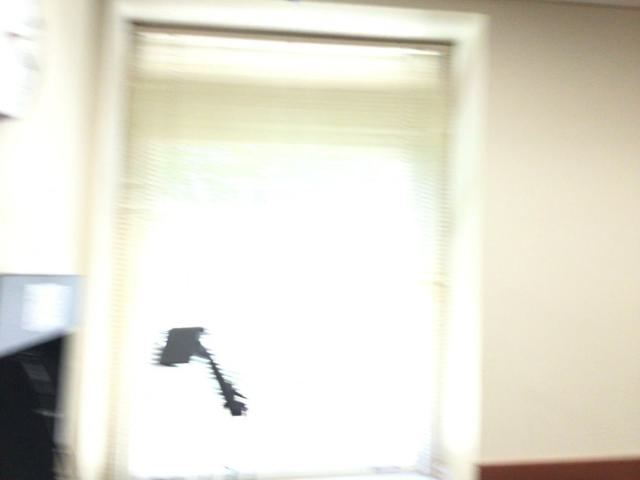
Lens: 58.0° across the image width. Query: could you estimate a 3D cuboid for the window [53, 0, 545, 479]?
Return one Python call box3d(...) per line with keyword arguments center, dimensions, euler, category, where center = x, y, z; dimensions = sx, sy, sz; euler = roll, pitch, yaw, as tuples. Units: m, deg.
box3d(center=(-0.090, 0.050, 2.140), dimensions=(1.450, 1.810, 0.710), euler=(-3, -4, -3), category="window")
